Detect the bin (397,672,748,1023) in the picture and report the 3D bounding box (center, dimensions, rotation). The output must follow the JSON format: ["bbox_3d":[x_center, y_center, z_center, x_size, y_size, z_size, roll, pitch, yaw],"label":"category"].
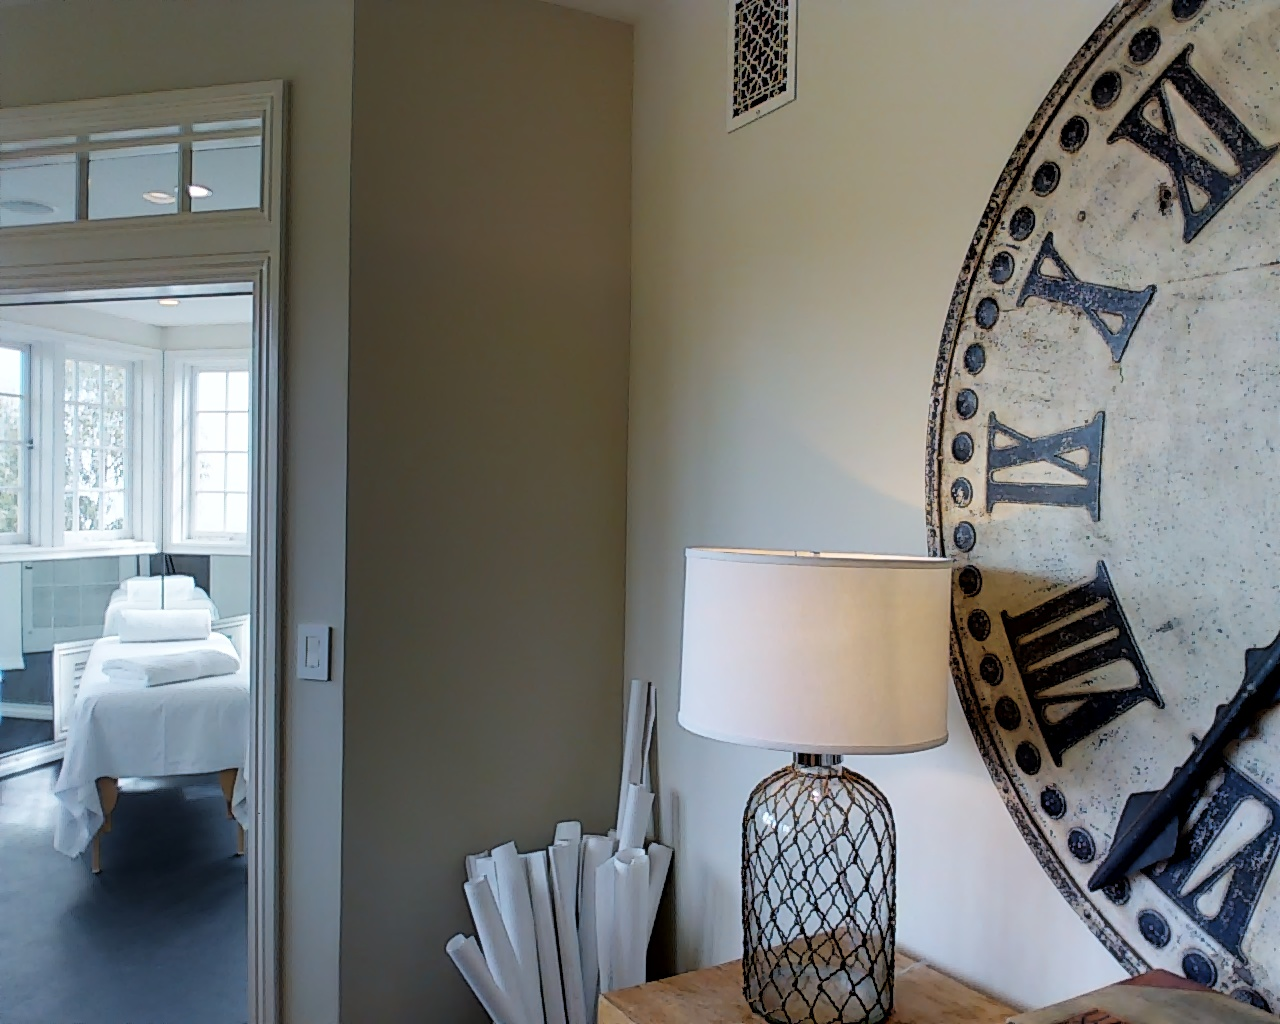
[{"bbox_3d":[-0.160,0.960,2.350,0.610,1.110,0.480,0,1,-29],"label":"bin"}]
